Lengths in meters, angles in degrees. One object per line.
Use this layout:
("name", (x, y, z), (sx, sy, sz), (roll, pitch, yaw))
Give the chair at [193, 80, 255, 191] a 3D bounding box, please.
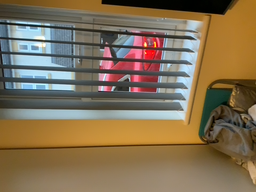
("chair", (0.910, 0.220, 1.250), (0.510, 0.800, 0.480), (-117, 31, -69))
